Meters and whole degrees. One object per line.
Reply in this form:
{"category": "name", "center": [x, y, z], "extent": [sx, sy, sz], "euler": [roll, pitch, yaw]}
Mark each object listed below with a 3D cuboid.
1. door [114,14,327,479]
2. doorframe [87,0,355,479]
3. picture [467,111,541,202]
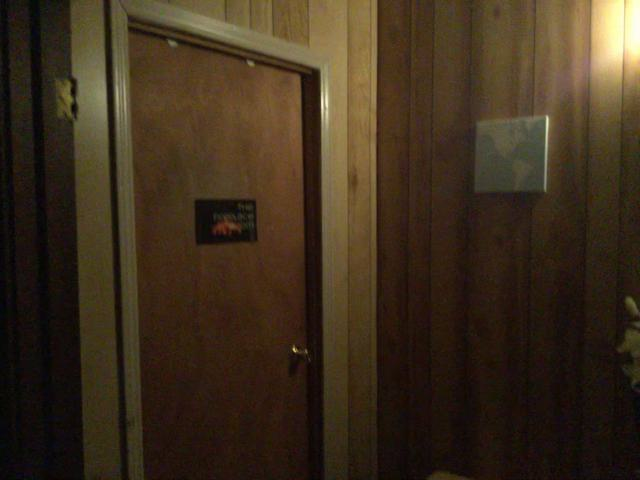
{"category": "door", "center": [-0.270, 0.430, 1.820], "extent": [0.060, 2.050, 0.760], "euler": [-1, -4, 42]}
{"category": "doorframe", "center": [-0.250, 0.420, 1.830], "extent": [0.140, 2.100, 0.920], "euler": [-1, -4, 42]}
{"category": "picture", "center": [0.630, -0.280, 1.990], "extent": [0.240, 0.280, 0.050], "euler": [-1, -4, 42]}
